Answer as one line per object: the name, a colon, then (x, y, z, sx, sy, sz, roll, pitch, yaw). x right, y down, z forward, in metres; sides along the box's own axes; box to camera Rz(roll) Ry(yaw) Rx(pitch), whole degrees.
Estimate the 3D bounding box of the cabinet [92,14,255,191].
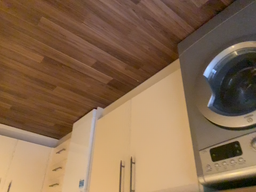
cabinet: (0.350, 0.270, 1.480, 0.580, 0.910, 1.190, 25, 141, -31)
